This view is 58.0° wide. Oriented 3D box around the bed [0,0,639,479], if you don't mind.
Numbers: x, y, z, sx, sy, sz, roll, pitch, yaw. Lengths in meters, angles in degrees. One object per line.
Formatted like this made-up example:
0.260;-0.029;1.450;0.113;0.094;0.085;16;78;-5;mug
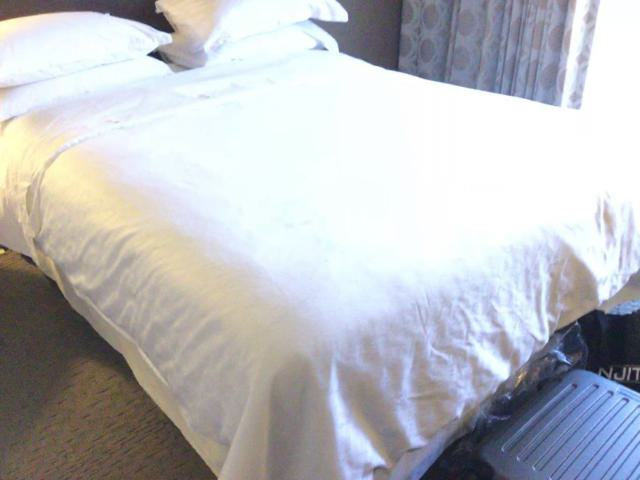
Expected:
-0.110;-0.380;1.890;1.820;1.360;2.230;-25;37;-35;bed
